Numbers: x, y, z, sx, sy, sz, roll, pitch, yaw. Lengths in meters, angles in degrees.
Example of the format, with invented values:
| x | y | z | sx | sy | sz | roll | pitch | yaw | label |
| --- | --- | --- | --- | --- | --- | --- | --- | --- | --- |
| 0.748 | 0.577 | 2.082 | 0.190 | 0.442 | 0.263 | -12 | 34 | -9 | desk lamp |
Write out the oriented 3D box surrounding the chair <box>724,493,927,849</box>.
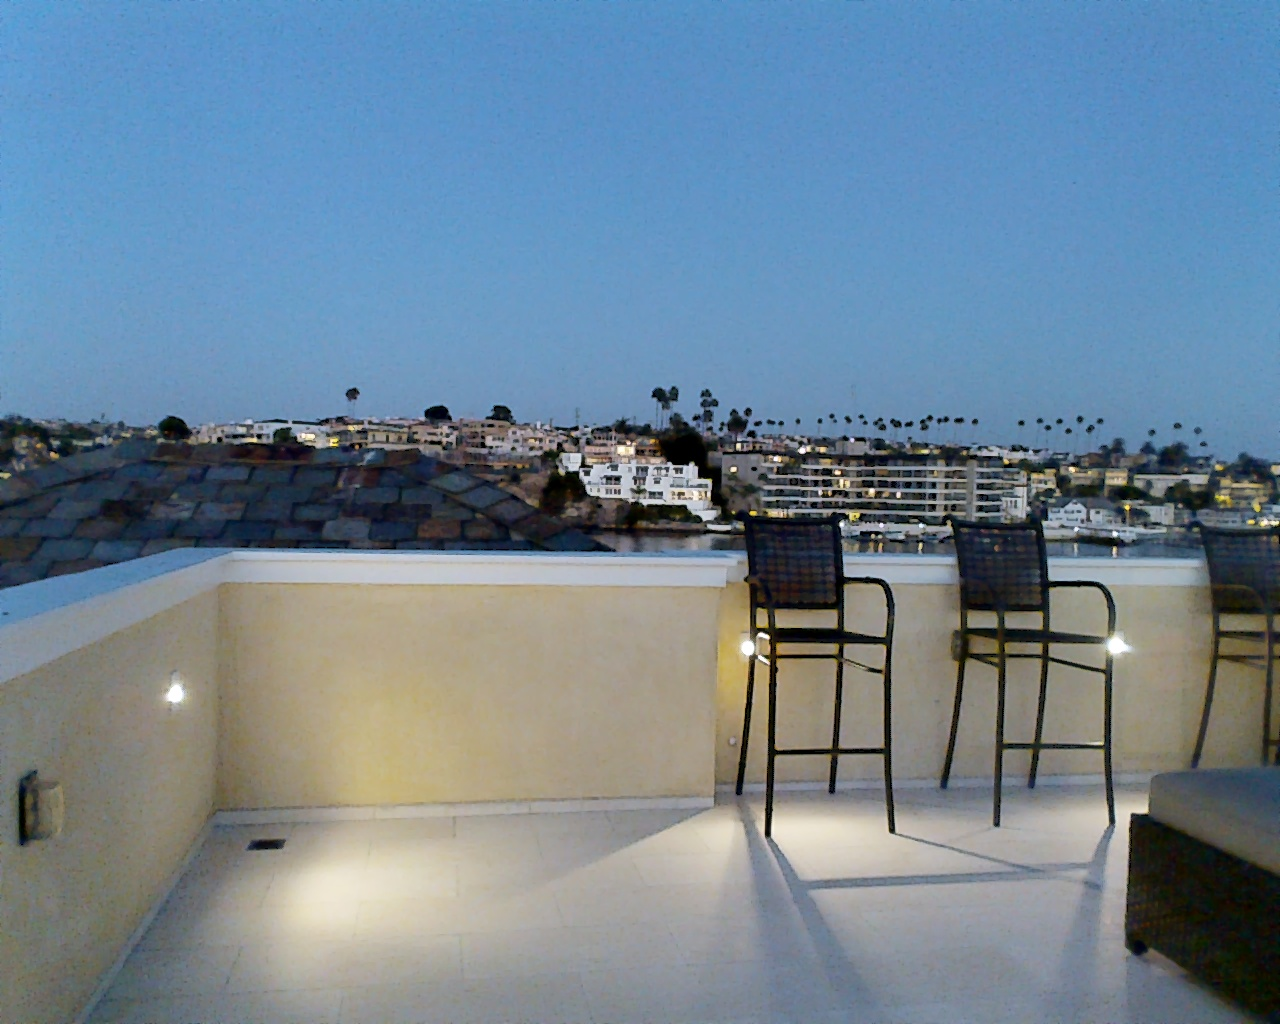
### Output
| x | y | z | sx | sy | sz | roll | pitch | yaw | label |
| --- | --- | --- | --- | --- | --- | --- | --- | --- | --- |
| 0.750 | 0.610 | 4.510 | 0.590 | 1.351 | 0.790 | 1 | 0 | -10 | chair |

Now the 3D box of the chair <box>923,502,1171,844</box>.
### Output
| x | y | z | sx | sy | sz | roll | pitch | yaw | label |
| --- | --- | --- | --- | --- | --- | --- | --- | --- | --- |
| 1.749 | 0.650 | 4.690 | 0.730 | 1.361 | 0.720 | 1 | 0 | -10 | chair |

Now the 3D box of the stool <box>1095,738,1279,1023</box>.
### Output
| x | y | z | sx | sy | sz | roll | pitch | yaw | label |
| --- | --- | --- | --- | --- | --- | --- | --- | --- | --- |
| 1.899 | 1.010 | 2.850 | 0.870 | 0.610 | 0.980 | 1 | 0 | -9 | stool |
